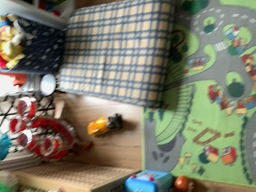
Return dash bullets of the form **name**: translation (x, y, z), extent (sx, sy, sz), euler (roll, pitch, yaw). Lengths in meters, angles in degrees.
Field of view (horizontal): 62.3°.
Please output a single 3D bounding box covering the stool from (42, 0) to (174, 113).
- **stool**: translation (-0.230, -0.310, 1.630), extent (1.060, 0.170, 0.680), euler (10, 92, 35)
